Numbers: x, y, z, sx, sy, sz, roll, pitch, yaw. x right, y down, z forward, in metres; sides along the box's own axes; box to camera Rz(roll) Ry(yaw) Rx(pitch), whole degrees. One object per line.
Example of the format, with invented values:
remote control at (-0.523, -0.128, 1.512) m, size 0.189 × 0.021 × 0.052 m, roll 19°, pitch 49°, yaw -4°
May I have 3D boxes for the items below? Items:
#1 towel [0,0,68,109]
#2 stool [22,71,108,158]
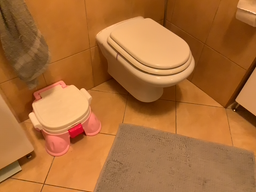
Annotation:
towel at (-0.440, -0.250, 0.890) m, size 0.200 × 0.670 × 0.180 m, roll -28°, pitch 57°, yaw -24°
stool at (-0.350, 0.090, 1.220) m, size 0.330 × 0.200 × 0.340 m, roll -28°, pitch 57°, yaw -25°
